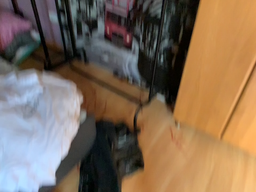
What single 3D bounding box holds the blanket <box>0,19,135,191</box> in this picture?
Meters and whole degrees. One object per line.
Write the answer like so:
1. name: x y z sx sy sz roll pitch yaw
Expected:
1. blanket: -0.760 0.020 1.270 1.300 0.410 0.910 24 45 24
